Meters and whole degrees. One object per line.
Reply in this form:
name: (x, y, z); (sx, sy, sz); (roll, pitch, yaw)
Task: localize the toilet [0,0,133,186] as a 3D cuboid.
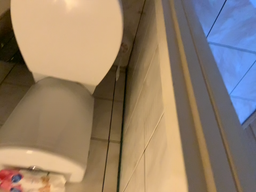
toilet: (-0.230, -0.190, 0.810); (0.370, 0.760, 0.690); (10, 136, -7)
